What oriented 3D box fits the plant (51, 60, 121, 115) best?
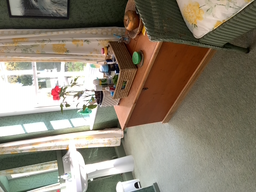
[{"bbox_3d":[-0.370,-0.090,1.790,0.220,0.490,0.380,112,145,-48],"label":"plant"}]
